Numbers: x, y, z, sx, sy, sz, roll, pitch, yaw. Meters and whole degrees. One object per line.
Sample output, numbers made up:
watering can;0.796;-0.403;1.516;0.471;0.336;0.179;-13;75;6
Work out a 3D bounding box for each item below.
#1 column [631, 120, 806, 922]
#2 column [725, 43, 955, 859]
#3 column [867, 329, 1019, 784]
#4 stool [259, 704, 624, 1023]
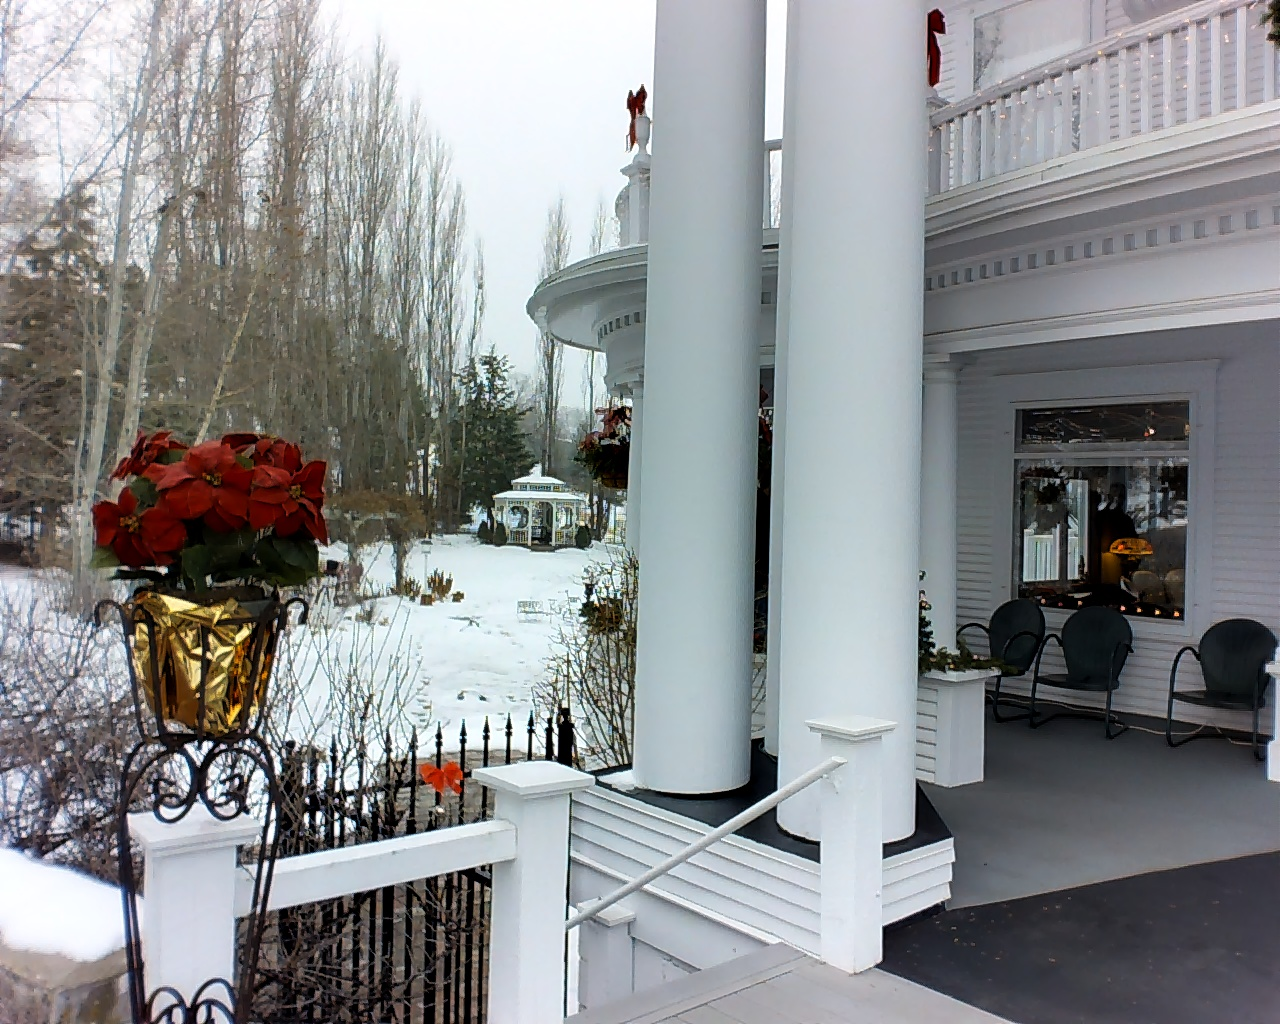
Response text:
column;0.350;0.040;5.100;0.480;3.461;0.770;0;1;-29
column;0.820;-0.220;4.380;0.690;2.951;0.680;0;1;36
column;1.759;0.240;6.270;0.590;2.471;0.620;-1;1;-41
stool;-0.480;1.050;2.770;0.890;0.960;0.310;-1;1;-41
